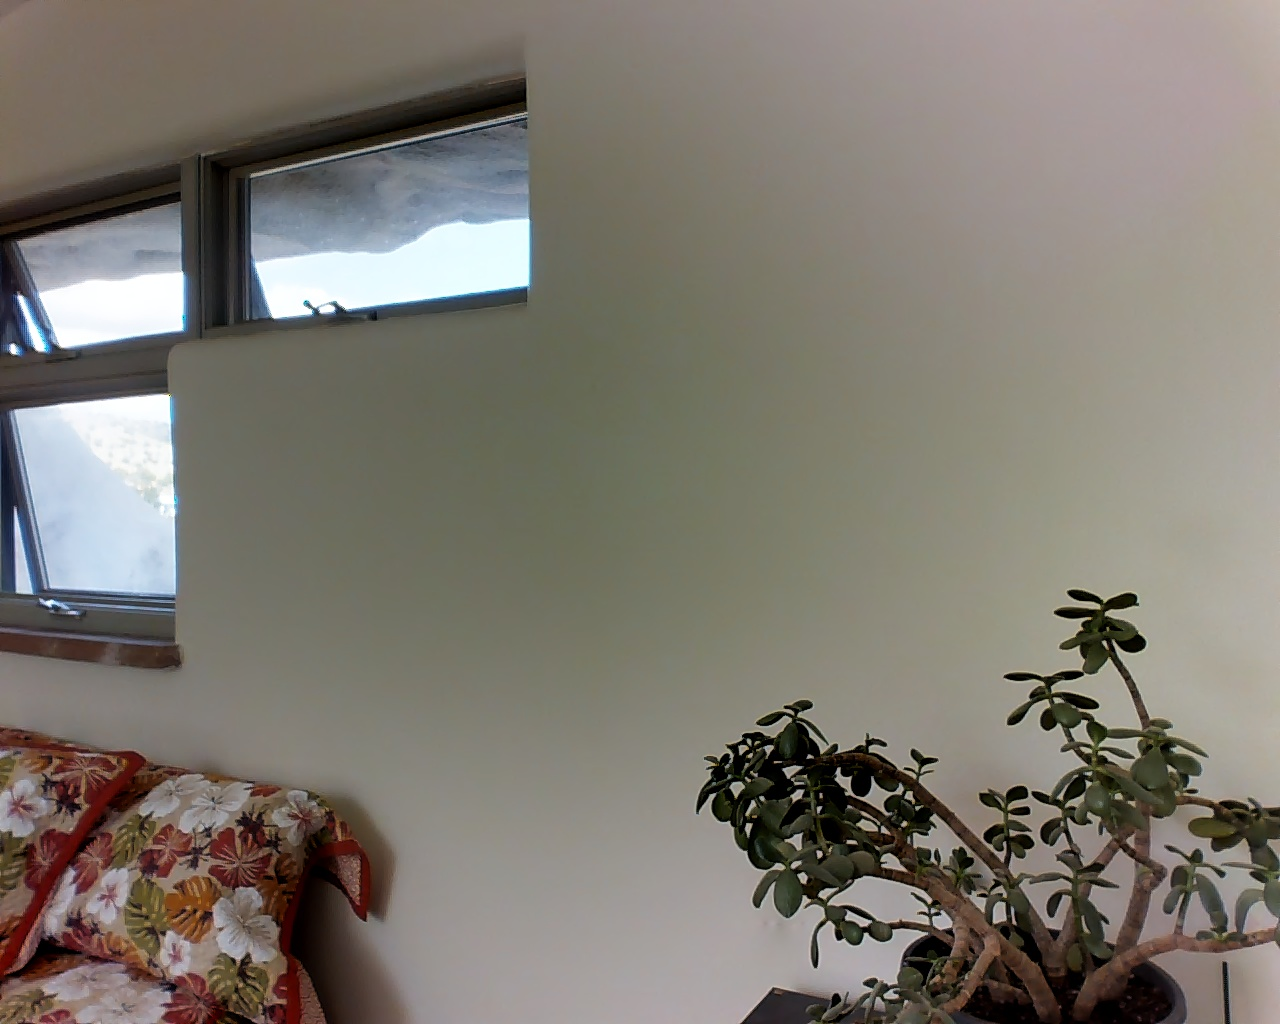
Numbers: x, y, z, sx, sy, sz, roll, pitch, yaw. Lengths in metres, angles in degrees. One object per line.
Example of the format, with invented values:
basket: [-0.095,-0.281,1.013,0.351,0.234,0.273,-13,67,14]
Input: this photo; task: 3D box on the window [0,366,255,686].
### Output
window: [-1.340,0.030,2.540,1.030,0.660,0.170,0,1,29]

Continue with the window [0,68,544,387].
window: [-1.400,-0.540,2.560,2.729,0.430,0.140,0,1,29]

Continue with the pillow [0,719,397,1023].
pillow: [-1.480,0.720,2.350,2.189,0.450,0.330,0,1,29]
